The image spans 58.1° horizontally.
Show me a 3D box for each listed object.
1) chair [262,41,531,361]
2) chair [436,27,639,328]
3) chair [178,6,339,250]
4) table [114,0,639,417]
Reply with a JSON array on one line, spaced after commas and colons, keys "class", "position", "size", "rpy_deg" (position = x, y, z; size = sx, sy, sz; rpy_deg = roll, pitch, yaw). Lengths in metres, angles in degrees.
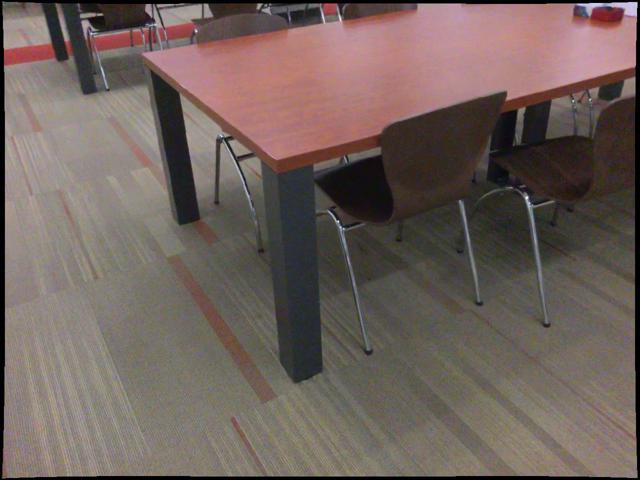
[{"class": "chair", "position": [0.219, -0.170, 1.960], "size": [0.509, 0.771, 0.660], "rpy_deg": [-21, 37, -25]}, {"class": "chair", "position": [0.868, -0.261, 2.060], "size": [0.529, 0.761, 0.670], "rpy_deg": [-21, 37, -25]}, {"class": "chair", "position": [-0.259, -0.521, 2.640], "size": [0.469, 0.902, 0.500], "rpy_deg": [-21, 37, -26]}, {"class": "table", "position": [0.808, -0.602, 2.640], "size": [2.925, 0.821, 1.400], "rpy_deg": [-21, 37, -26]}]
